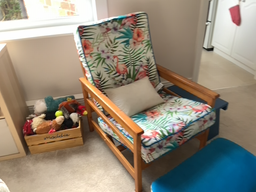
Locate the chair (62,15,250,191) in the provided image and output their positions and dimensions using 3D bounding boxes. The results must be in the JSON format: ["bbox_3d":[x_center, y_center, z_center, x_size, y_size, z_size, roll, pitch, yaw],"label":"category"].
[{"bbox_3d":[0.150,-0.040,1.570,0.810,0.830,0.870,-23,38,-30],"label":"chair"}]
